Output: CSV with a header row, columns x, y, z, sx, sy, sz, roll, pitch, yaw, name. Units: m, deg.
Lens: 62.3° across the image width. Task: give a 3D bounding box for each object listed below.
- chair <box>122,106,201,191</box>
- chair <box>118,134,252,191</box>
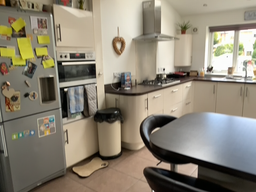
x,y,z,sx,sy,sz,roll,pitch,yaw,name
0.280,0.600,1.800,0.480,0.910,0.430,8,15,38,chair
0.310,0.750,1.200,0.530,0.860,0.480,9,15,39,chair
